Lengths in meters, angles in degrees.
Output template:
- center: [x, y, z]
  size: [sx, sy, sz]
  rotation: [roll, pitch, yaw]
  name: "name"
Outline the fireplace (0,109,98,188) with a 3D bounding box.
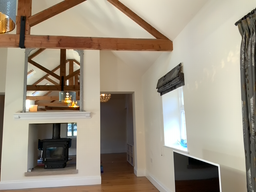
- center: [-1.800, 1.170, 5.130]
  size: [2.130, 1.620, 1.070]
  rotation: [0, -7, -7]
  name: "fireplace"
